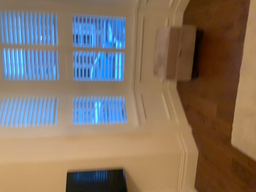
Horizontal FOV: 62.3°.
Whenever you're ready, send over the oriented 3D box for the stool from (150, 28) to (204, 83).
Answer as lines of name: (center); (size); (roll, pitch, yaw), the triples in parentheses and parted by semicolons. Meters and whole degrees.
stool: (0.610, -0.530, 2.770); (0.500, 0.450, 0.640); (-130, 42, -71)
